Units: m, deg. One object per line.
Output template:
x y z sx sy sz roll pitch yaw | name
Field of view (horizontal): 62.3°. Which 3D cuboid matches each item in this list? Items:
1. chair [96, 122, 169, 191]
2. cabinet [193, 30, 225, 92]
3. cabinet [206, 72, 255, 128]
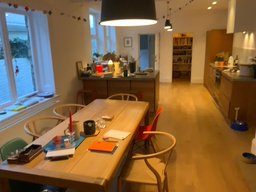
0.070 0.770 2.140 0.500 0.800 0.580 7 16 27 | chair
2.830 -1.270 7.570 0.690 2.000 1.330 2 15 11 | cabinet
2.230 0.020 4.670 0.710 0.950 1.140 2 15 11 | cabinet
